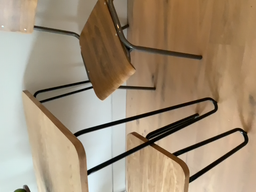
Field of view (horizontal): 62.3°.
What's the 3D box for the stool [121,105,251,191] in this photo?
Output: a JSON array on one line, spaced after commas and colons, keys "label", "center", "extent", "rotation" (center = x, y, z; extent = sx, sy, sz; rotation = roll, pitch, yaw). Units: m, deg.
[{"label": "stool", "center": [0.260, 0.630, 1.140], "extent": [0.370, 0.460, 1.030], "rotation": [24, 120, 49]}]
